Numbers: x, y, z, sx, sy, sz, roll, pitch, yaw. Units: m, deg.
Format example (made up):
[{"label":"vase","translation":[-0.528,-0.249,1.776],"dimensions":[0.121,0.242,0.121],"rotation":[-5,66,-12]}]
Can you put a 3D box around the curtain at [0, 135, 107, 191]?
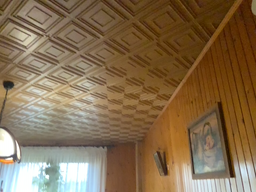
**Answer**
[{"label":"curtain","translation":[-1.700,1.440,4.270],"dimensions":[2.510,1.240,0.200],"rotation":[2,-22,-4]}]
